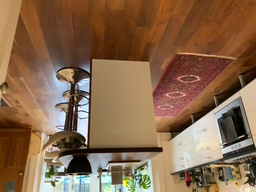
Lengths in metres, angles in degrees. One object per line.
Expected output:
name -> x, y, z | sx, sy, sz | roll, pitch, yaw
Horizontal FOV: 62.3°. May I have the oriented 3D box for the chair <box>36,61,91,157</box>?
chair -> -0.640, 0.140, 2.250 | 0.380, 0.910, 0.430 | -4, 156, 1
